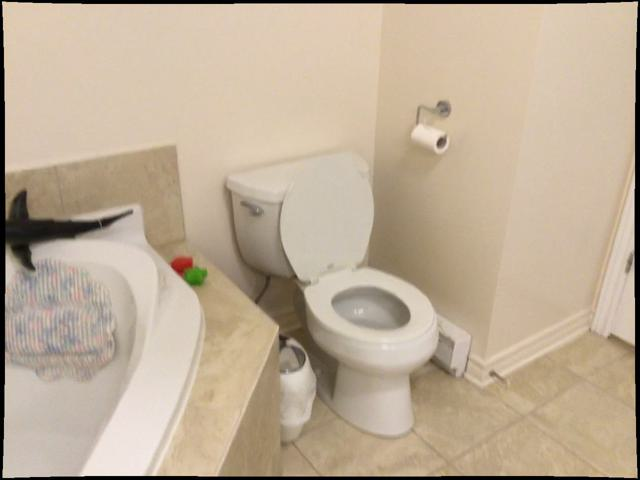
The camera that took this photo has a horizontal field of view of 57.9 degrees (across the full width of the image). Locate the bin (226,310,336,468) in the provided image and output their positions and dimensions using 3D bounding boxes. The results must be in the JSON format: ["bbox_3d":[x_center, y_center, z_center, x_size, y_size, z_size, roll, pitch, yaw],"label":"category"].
[{"bbox_3d":[-0.120,0.430,1.720,0.180,0.290,0.310,-17,31,-31],"label":"bin"}]

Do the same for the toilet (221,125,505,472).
[{"bbox_3d":[0.090,0.120,1.810,0.490,0.751,0.680,-17,31,-31],"label":"toilet"}]
